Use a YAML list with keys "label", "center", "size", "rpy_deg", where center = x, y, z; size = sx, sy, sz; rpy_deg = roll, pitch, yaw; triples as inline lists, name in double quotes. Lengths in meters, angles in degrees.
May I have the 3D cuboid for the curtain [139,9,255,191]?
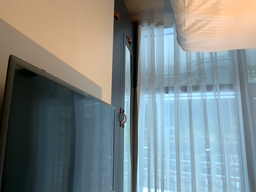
- label: "curtain"
  center: [0.990, 0.240, 2.230]
  size: [1.750, 2.390, 0.110]
  rpy_deg: [-2, 168, 14]
